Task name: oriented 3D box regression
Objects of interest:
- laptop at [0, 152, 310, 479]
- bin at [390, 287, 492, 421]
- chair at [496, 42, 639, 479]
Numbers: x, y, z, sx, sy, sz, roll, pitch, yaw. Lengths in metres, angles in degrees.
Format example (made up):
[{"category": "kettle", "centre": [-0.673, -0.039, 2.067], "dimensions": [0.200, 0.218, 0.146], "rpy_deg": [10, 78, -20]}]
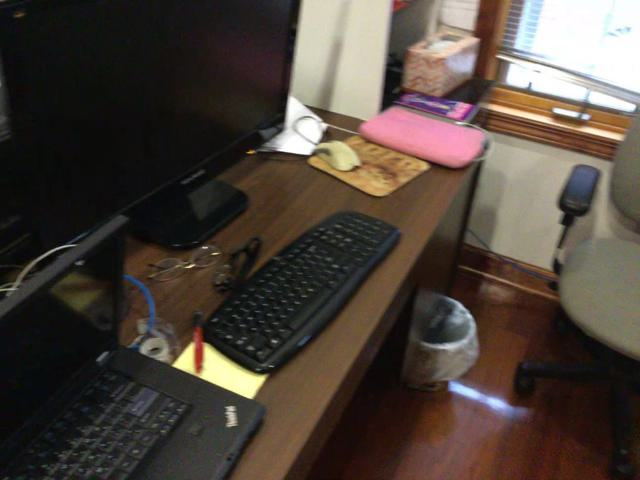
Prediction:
[{"category": "laptop", "centre": [-0.240, 0.150, 0.610], "dimensions": [0.270, 0.280, 0.460], "rpy_deg": [15, 37, 23]}, {"category": "bin", "centre": [0.350, 0.320, 1.670], "dimensions": [0.200, 0.210, 0.270], "rpy_deg": [15, 37, 23]}, {"category": "chair", "centre": [0.880, 0.070, 1.470], "dimensions": [0.570, 0.900, 0.670], "rpy_deg": [15, 37, 23]}]
